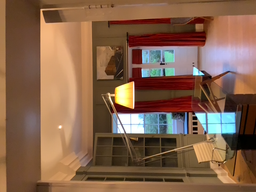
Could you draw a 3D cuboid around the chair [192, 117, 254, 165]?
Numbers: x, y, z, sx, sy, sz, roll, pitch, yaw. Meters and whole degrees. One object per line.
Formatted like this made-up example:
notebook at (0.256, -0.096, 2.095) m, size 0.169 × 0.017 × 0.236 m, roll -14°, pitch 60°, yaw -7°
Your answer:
chair at (1.630, 0.790, 3.770) m, size 0.550 × 0.790 × 0.620 m, roll -83°, pitch -8°, yaw -63°
